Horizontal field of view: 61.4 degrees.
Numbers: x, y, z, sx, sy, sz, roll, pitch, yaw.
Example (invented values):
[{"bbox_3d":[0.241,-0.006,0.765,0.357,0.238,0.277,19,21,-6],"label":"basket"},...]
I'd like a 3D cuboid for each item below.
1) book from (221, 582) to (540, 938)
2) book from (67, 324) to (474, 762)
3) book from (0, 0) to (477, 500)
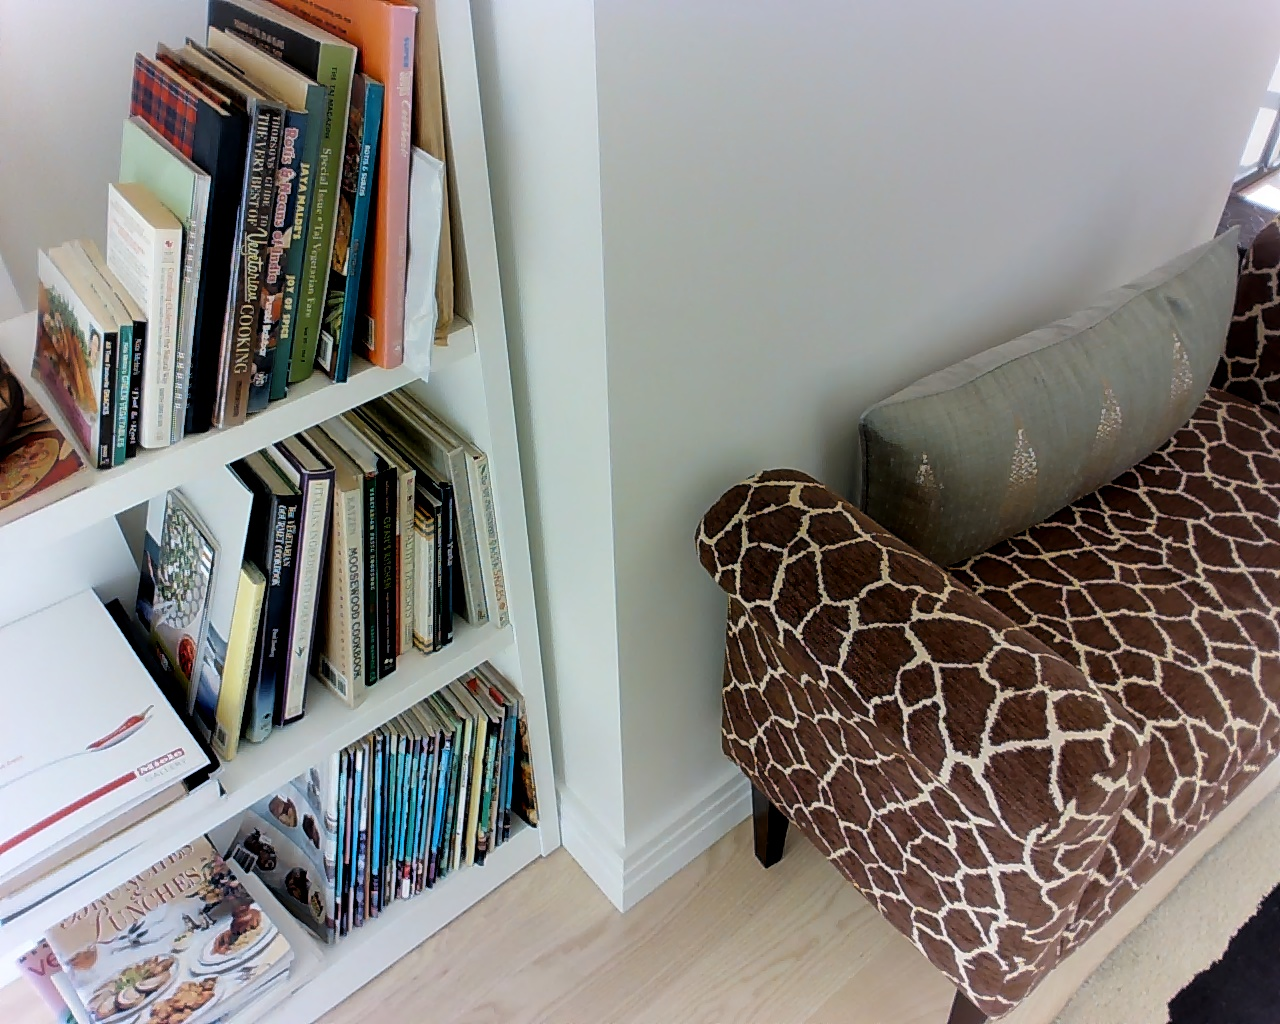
[{"bbox_3d":[-0.330,0.310,1.400,0.260,0.220,0.300,-29,49,-28],"label":"book"},{"bbox_3d":[-0.380,0.020,1.140,0.250,0.260,0.310,-29,49,-28],"label":"book"},{"bbox_3d":[-0.350,-0.250,0.880,0.290,0.280,0.290,-29,49,-28],"label":"book"}]
